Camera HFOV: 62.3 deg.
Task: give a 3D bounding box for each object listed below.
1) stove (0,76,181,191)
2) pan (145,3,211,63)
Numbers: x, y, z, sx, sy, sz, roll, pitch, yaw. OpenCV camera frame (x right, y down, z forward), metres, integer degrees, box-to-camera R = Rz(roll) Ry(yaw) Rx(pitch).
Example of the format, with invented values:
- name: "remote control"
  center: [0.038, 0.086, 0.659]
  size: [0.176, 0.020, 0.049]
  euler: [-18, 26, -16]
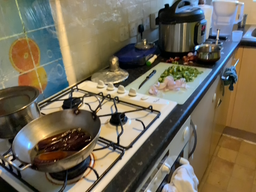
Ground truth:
- name: "stove"
  center: [-0.180, 0.090, 0.770]
  size: [0.550, 0.030, 0.580]
  euler: [14, 34, 31]
- name: "pan"
  center: [0.320, -0.410, 1.340]
  size: [0.290, 0.280, 0.330]
  euler: [13, 33, 30]
